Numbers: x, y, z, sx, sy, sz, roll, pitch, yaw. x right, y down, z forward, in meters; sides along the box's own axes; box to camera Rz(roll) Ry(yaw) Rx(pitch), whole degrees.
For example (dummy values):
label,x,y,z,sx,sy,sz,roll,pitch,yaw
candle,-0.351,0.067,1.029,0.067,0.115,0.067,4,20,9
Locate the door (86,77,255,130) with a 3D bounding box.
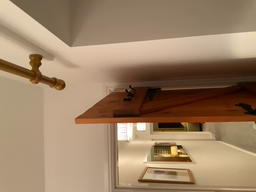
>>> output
label,x,y,z,sx,sy,sz,roll,pitch,yaw
door,0.810,-0.010,1.220,0.810,1.910,0.070,-58,-35,-74
